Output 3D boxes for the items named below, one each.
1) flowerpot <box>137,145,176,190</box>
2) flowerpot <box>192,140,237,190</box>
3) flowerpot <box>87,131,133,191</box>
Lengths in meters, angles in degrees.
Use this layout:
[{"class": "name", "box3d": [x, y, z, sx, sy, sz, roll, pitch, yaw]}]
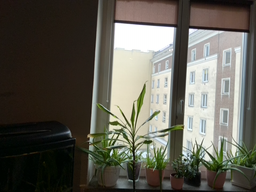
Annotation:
[{"class": "flowerpot", "box3d": [0.230, 0.600, 1.810, 0.270, 0.290, 0.250, 3, 0, -4]}, {"class": "flowerpot", "box3d": [0.730, 0.580, 1.810, 0.270, 0.350, 0.220, 4, 0, -7]}, {"class": "flowerpot", "box3d": [-0.150, 0.510, 1.720, 0.320, 0.400, 0.280, 4, 0, -7]}]
